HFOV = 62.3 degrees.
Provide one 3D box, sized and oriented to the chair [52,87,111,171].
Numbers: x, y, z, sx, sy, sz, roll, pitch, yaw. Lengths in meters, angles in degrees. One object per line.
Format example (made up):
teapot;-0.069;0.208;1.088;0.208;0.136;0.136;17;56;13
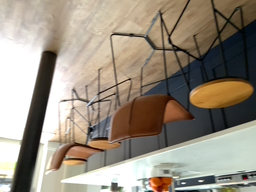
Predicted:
chair;-0.540;0.420;2.590;0.510;0.860;0.400;17;148;-29
